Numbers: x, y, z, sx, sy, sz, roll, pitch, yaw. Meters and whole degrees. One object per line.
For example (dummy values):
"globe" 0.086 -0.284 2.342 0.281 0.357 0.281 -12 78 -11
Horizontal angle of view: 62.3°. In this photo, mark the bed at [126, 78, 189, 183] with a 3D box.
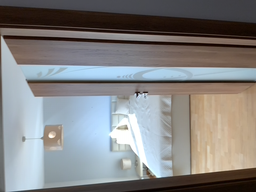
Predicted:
"bed" 0.450 0.480 4.300 2.160 0.520 1.590 -170 79 -77

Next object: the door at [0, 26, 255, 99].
"door" 0.310 -0.200 1.760 0.850 2.360 0.130 123 144 -67
